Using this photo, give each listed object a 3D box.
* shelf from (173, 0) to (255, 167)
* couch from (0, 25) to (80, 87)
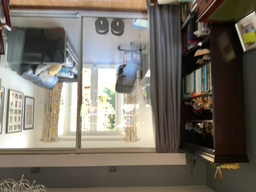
[{"bbox_3d":[0.890,-0.330,2.450,0.410,2.010,0.930,1,174,-6],"label":"shelf"},{"bbox_3d":[-1.770,-0.750,4.730,1.130,0.780,2.000,1,174,-6],"label":"couch"}]
